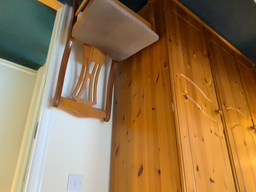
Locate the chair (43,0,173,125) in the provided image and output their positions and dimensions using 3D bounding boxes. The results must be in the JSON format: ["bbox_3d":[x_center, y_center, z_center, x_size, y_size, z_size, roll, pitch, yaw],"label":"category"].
[{"bbox_3d":[-0.130,-0.370,1.380,0.460,0.910,0.580,21,146,-36],"label":"chair"}]
